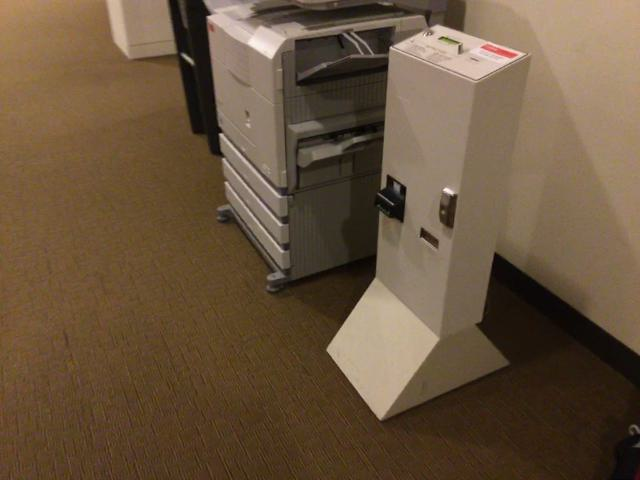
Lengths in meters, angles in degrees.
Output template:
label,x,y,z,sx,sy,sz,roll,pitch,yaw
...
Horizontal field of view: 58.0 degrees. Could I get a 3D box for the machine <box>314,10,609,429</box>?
label,x,y,z,sx,sy,sz,roll,pitch,yaw
machine,0.280,-0.040,1.480,0.470,0.920,0.390,-16,38,-22

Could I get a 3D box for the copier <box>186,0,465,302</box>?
label,x,y,z,sx,sy,sz,roll,pitch,yaw
copier,-0.020,-0.490,2.010,0.650,1.100,0.660,-16,38,-22
